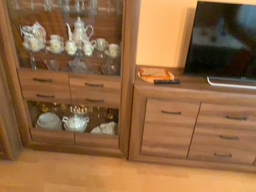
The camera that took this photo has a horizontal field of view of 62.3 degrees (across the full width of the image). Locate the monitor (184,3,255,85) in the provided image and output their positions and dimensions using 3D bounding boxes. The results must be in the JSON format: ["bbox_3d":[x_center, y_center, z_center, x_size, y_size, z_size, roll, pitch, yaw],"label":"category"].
[{"bbox_3d":[0.930,-0.350,1.560,0.920,0.550,0.060,5,31,1],"label":"monitor"}]

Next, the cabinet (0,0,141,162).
[{"bbox_3d":[-0.430,-0.370,1.720,0.990,1.970,0.430,6,31,2],"label":"cabinet"}]

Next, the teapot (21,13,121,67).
[{"bbox_3d":[-0.470,-0.490,1.850,0.780,0.360,0.190,5,31,1],"label":"teapot"}]
